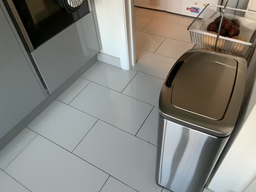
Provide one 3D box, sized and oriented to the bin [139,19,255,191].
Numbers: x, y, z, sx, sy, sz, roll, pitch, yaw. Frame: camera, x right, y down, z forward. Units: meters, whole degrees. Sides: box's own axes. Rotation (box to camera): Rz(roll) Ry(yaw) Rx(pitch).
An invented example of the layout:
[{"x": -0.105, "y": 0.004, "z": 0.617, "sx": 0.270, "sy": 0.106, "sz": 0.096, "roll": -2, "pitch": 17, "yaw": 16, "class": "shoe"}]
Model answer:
[{"x": 0.380, "y": 0.090, "z": 1.120, "sx": 0.320, "sy": 0.660, "sz": 0.700, "roll": 24, "pitch": 53, "yaw": 24, "class": "bin"}]
